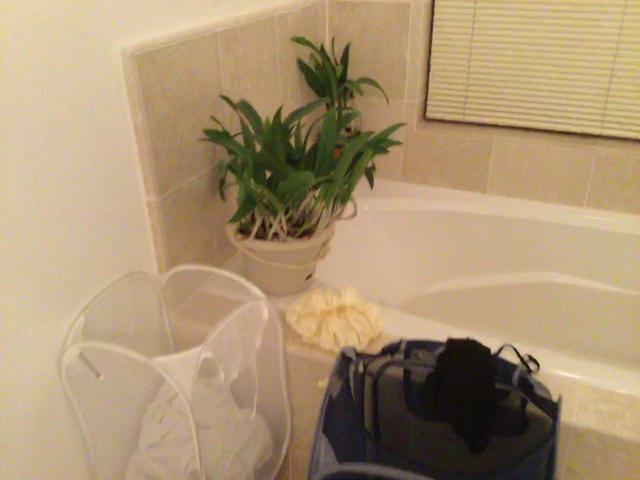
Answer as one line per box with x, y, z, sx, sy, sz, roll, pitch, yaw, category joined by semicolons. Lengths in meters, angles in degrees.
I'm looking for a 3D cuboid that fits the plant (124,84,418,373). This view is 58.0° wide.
-0.070;-0.070;1.350;0.470;0.470;0.460;9;29;23;plant

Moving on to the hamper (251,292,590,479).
0.200;0.540;1.080;0.440;0.710;0.400;9;29;23;hamper

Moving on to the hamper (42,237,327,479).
-0.250;0.420;1.330;0.370;0.700;0.410;9;29;23;hamper

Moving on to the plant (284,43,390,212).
0.070;-0.380;1.910;0.240;0.480;0.280;9;29;23;plant

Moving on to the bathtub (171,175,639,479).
0.690;0.350;1.600;1.830;0.570;1.020;9;29;23;bathtub
